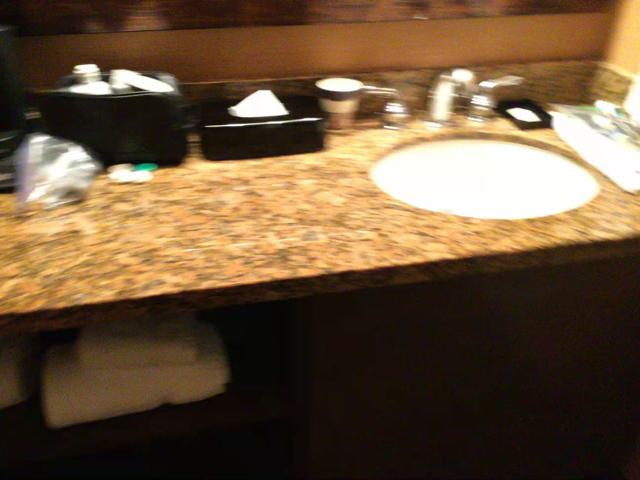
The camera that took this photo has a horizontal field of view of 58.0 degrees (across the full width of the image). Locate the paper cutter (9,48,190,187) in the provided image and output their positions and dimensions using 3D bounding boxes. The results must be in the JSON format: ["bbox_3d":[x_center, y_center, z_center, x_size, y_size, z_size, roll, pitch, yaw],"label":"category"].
[{"bbox_3d":[-0.400,-0.240,1.100,0.270,0.160,0.210,-8,37,-10],"label":"paper cutter"}]

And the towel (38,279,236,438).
[{"bbox_3d":[-0.310,0.200,1.020,0.290,0.120,0.200,-8,37,-10],"label":"towel"}]

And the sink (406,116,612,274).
[{"bbox_3d":[0.360,-0.100,1.170,0.290,0.180,0.250,-8,37,-10],"label":"sink"}]

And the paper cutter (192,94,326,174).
[{"bbox_3d":[-0.120,-0.210,1.130,0.240,0.080,0.130,-8,37,-10],"label":"paper cutter"}]
